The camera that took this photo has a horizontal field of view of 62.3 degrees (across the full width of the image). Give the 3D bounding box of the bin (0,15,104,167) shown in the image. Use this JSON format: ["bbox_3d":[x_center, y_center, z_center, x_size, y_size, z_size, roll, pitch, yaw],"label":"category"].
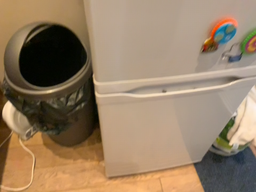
[{"bbox_3d":[-0.380,0.010,1.130,0.420,0.680,0.420,-7,52,-9],"label":"bin"}]
